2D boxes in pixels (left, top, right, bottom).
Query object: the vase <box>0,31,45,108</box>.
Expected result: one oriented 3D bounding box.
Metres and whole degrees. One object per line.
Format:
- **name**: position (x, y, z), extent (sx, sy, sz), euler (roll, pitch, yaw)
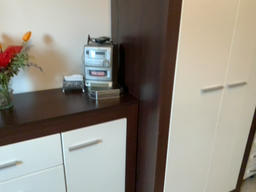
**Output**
- **vase**: position (-0.620, -0.140, 1.050), extent (0.320, 0.330, 0.230), euler (-10, 23, -28)
